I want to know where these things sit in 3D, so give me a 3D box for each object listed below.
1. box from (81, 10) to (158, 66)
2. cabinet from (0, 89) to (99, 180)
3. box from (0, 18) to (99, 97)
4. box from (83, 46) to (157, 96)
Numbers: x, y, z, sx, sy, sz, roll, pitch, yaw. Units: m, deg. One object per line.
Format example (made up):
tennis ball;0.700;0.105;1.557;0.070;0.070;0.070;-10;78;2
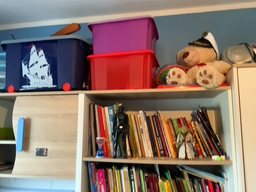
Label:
box;-0.030;-0.350;1.380;0.420;0.200;0.360;-2;-8;11
cabinet;-0.730;0.240;1.410;1.000;0.490;0.350;-1;-8;10
box;-0.530;-0.220;1.430;0.570;0.400;0.380;-1;-8;8
box;-0.030;-0.140;1.350;0.400;0.220;0.340;-1;-8;10
